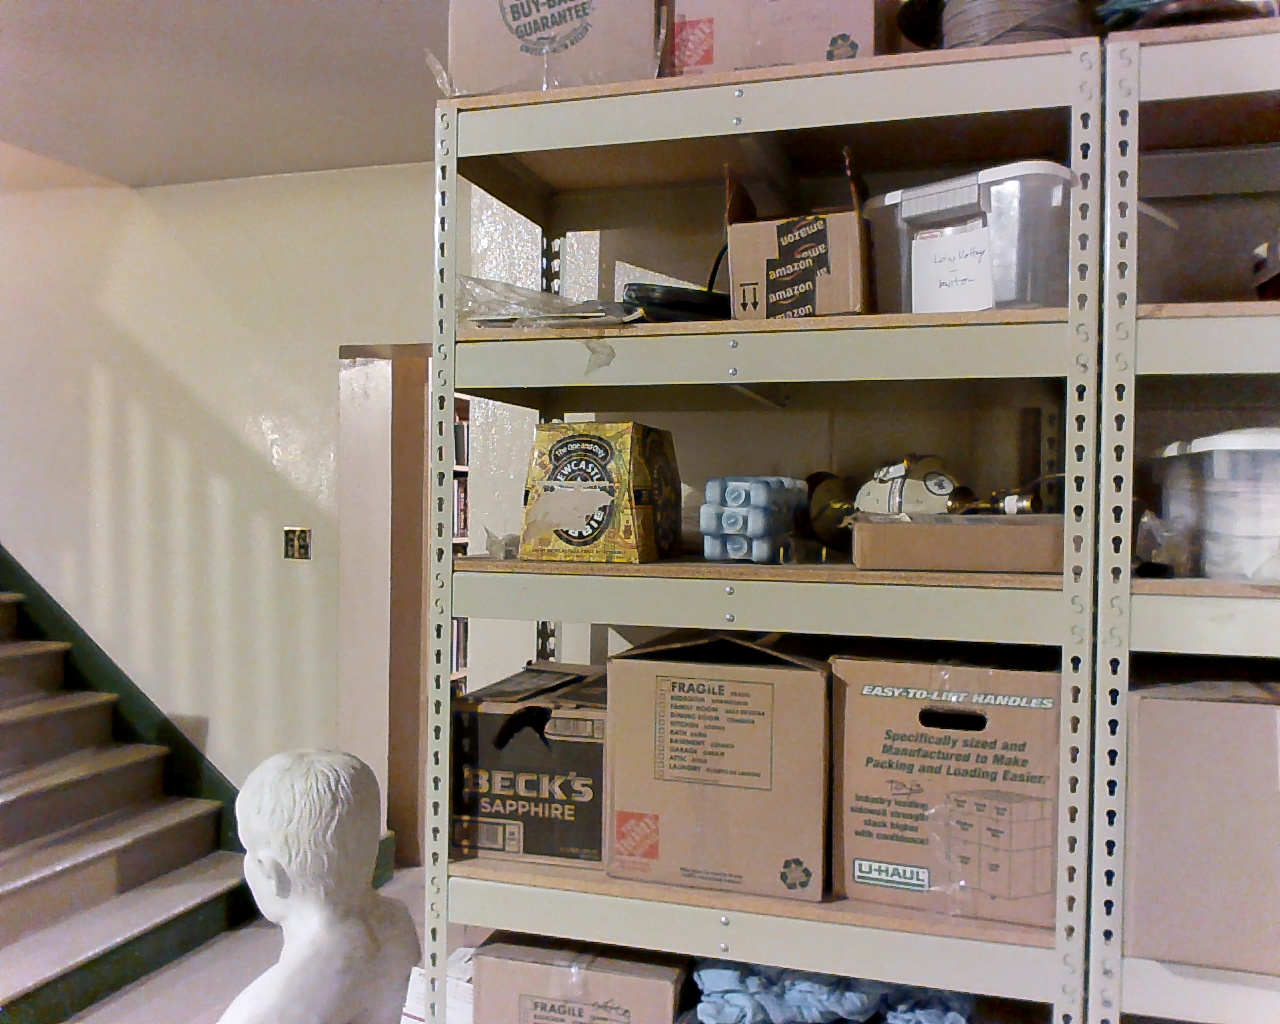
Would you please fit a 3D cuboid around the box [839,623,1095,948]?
[{"bbox_3d":[0.490,0.370,1.620,0.310,0.340,0.480,1,1,18],"label":"box"}]
